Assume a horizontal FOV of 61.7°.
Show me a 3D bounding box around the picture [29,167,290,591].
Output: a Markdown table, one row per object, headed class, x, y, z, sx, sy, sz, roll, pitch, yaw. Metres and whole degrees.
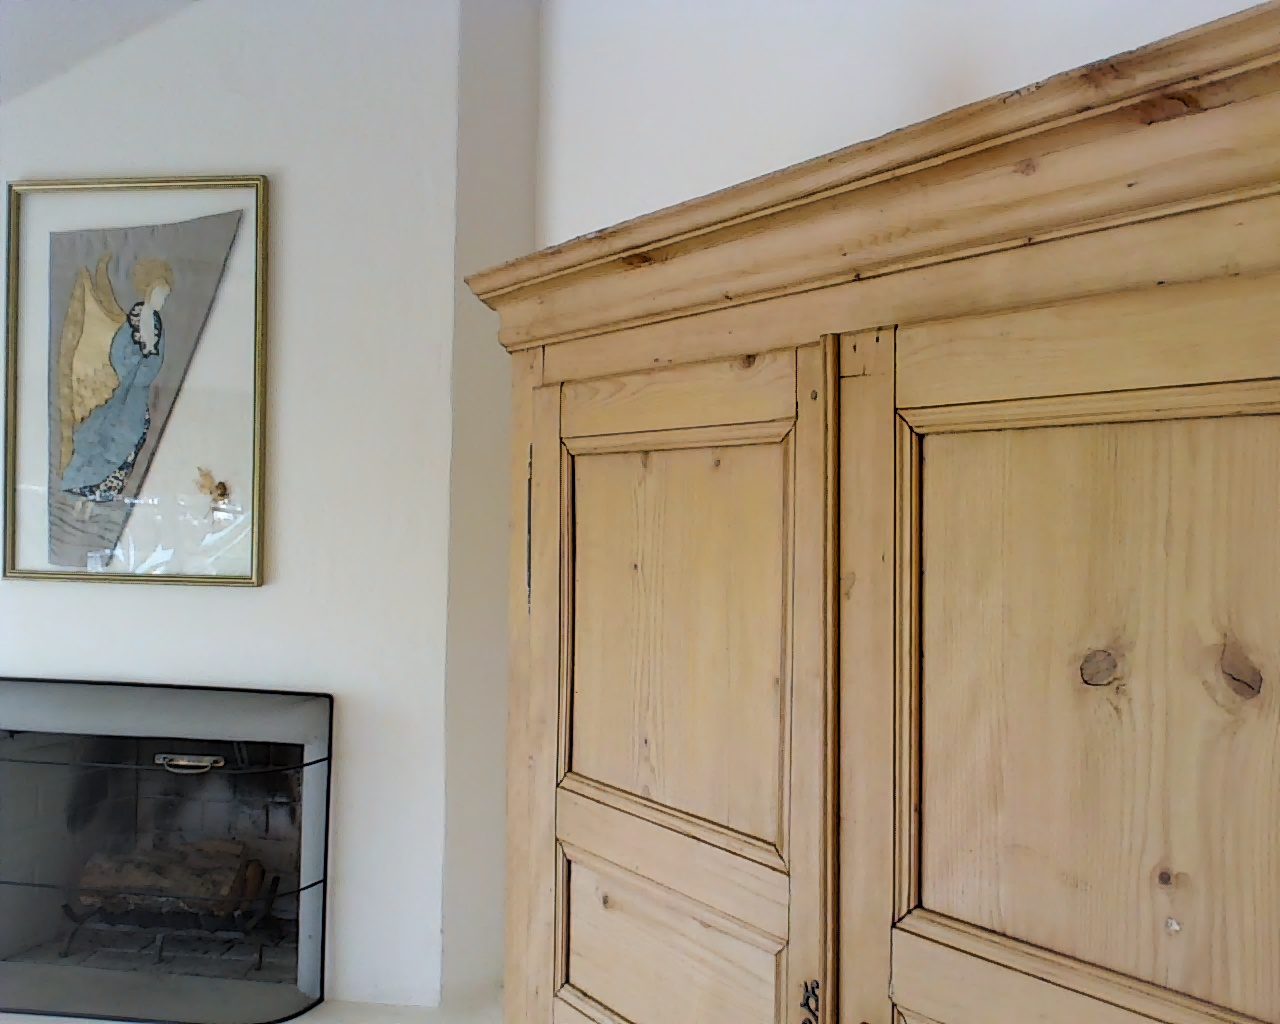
| class | x | y | z | sx | sy | sz | roll | pitch | yaw |
| --- | --- | --- | --- | --- | --- | --- | --- | --- | --- |
| picture | -1.160 | -0.320 | 2.580 | 0.630 | 1.000 | 0.030 | 1 | 0 | 7 |
